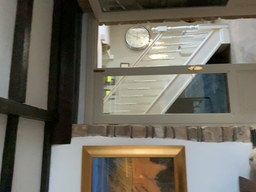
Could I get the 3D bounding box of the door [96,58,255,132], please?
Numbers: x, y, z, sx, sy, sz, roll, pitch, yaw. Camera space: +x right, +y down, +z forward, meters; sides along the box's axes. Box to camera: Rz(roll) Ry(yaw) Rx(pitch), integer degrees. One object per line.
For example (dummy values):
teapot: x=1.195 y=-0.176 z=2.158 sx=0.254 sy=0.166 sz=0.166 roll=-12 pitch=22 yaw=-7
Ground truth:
door: x=0.640 y=-0.010 z=2.050 sx=0.030 sy=1.900 sz=0.700 roll=65 pitch=-155 yaw=-79
